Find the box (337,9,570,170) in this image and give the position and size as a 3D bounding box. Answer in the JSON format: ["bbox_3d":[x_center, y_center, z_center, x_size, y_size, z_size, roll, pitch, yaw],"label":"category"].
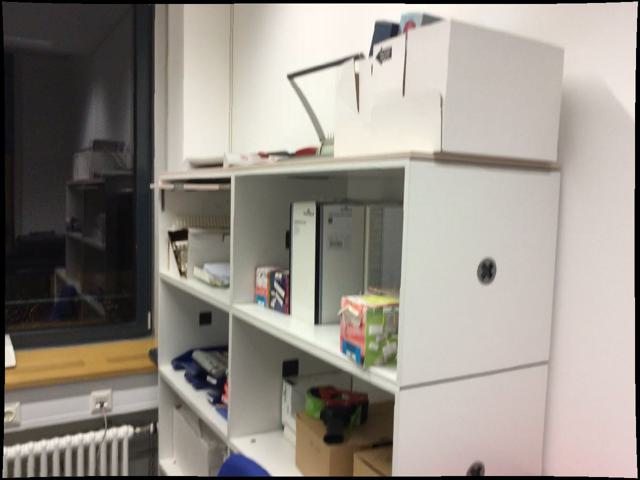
[{"bbox_3d":[0.270,-0.280,1.190,0.370,0.250,0.270,-1,8,-33],"label":"box"}]

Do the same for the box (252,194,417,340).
[{"bbox_3d":[0.030,0.050,1.460,0.310,0.310,0.260,-1,8,-33],"label":"box"}]

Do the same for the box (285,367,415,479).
[{"bbox_3d":[0.070,0.480,1.450,0.220,0.230,0.230,-1,8,-33],"label":"box"}]
